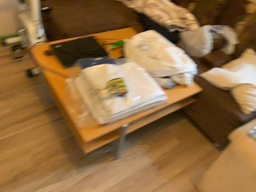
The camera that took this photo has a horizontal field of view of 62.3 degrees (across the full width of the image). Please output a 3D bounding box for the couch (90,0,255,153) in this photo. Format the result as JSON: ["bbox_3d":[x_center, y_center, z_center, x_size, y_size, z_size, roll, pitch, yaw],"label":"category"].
[{"bbox_3d":[0.530,-0.660,2.050,0.910,0.810,2.040,-21,54,-30],"label":"couch"}]

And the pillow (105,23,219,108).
[{"bbox_3d":[0.220,-0.270,1.530,0.500,0.140,0.660,-21,54,-30],"label":"pillow"}]
